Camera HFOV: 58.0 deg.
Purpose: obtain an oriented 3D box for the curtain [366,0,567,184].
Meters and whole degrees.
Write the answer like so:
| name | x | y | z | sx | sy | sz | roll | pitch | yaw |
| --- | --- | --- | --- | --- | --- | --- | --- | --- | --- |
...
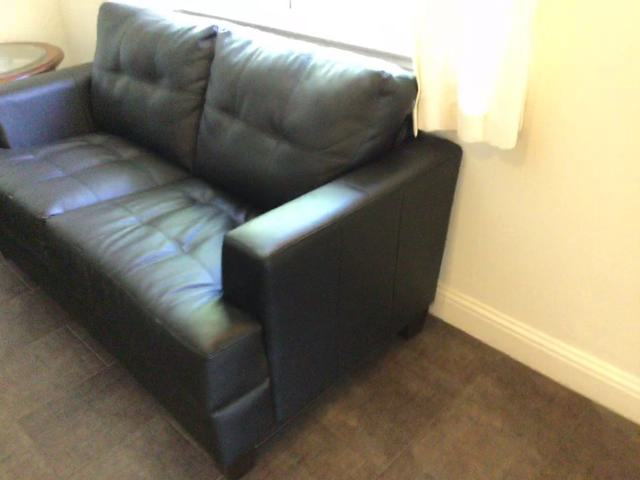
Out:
| name | x | y | z | sx | sy | sz | roll | pitch | yaw |
| --- | --- | --- | --- | --- | --- | --- | --- | --- | --- |
| curtain | 0.360 | -0.510 | 1.450 | 0.400 | 0.620 | 0.210 | 22 | 33 | 34 |

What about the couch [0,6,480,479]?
| name | x | y | z | sx | sy | sz | roll | pitch | yaw |
| --- | --- | --- | --- | --- | --- | --- | --- | --- | --- |
| couch | -0.550 | -0.170 | 1.970 | 1.770 | 0.990 | 0.900 | 22 | 33 | 34 |
